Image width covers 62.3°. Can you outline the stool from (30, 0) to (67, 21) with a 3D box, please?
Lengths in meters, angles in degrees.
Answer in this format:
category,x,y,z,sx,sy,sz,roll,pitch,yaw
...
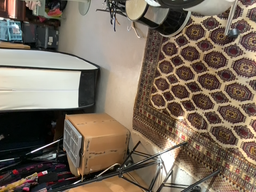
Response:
category,x,y,z,sx,sy,sz,roll,pitch,yaw
stool,-1.390,-1.690,3.730,0.350,0.510,0.600,26,112,49

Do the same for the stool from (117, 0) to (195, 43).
category,x,y,z,sx,sy,sz,roll,pitch,yaw
stool,0.210,-0.670,1.640,0.410,0.360,0.400,31,116,48
